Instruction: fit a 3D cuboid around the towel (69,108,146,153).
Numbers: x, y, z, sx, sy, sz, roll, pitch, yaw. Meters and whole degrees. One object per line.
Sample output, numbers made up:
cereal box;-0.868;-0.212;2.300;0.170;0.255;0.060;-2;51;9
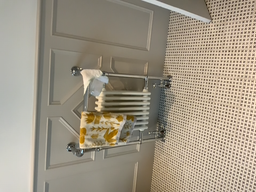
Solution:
towel;-0.150;0.240;1.650;0.260;0.530;0.250;8;96;54
